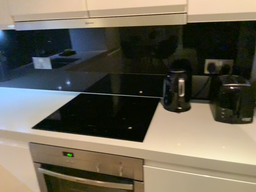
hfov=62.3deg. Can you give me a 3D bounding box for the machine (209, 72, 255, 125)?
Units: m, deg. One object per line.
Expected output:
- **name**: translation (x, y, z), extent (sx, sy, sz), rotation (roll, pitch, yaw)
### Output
- **machine**: translation (0.550, 0.000, 1.110), extent (0.210, 0.180, 0.270), rotation (4, 22, 16)
